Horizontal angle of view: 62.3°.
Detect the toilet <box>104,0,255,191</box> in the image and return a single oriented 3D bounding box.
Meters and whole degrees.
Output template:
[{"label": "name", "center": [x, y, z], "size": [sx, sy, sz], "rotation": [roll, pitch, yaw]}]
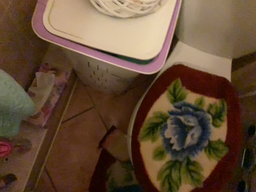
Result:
[{"label": "toilet", "center": [0.220, -0.020, 0.760], "size": [0.380, 0.790, 0.730], "rotation": [18, 77, -5]}]
